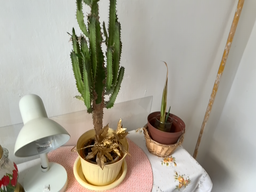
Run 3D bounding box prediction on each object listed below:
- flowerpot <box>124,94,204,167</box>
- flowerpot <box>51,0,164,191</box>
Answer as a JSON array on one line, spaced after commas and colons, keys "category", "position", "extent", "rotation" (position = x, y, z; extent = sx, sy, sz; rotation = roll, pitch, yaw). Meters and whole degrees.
[{"category": "flowerpot", "position": [0.130, 0.120, 0.850], "extent": [0.180, 0.120, 0.260], "rotation": [-10, 34, -27]}, {"category": "flowerpot", "position": [-0.090, -0.040, 0.640], "extent": [0.200, 0.670, 0.240], "rotation": [-10, 34, -26]}]
